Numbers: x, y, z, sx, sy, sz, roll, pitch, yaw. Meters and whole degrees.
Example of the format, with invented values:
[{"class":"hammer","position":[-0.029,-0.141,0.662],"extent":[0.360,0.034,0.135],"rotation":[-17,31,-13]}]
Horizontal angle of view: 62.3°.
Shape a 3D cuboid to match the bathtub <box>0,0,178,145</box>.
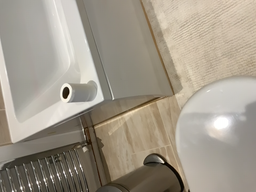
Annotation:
[{"class":"bathtub","position":[-0.420,-0.670,1.260],"extent":[0.710,0.590,1.670],"rotation":[-25,77,34]}]
